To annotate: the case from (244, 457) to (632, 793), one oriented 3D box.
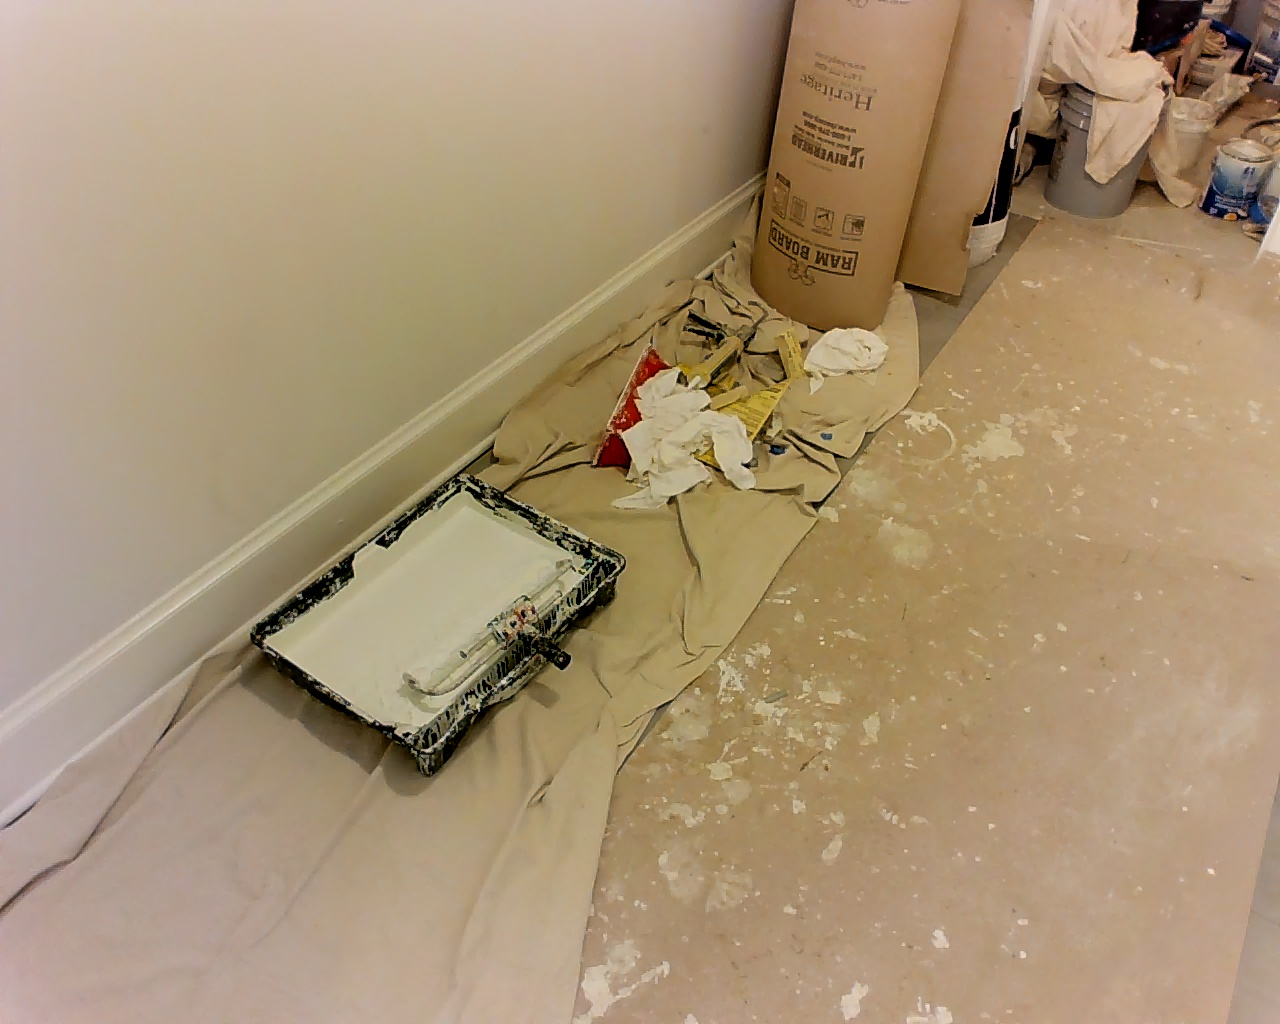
[{"bbox_3d":[-0.360,0.180,2.040,0.450,0.150,0.560,25,47,24],"label":"case"}]
